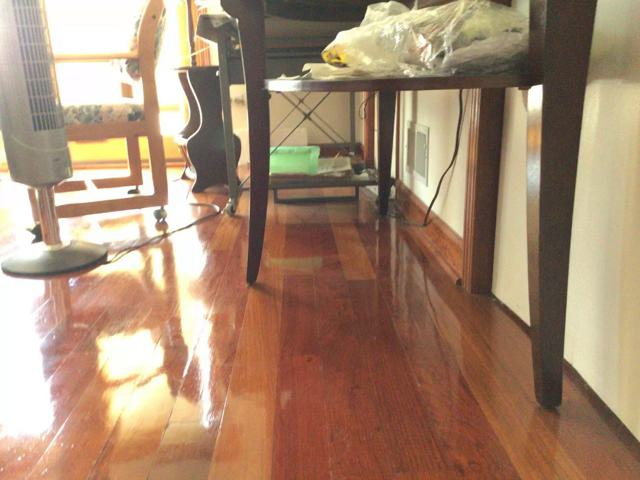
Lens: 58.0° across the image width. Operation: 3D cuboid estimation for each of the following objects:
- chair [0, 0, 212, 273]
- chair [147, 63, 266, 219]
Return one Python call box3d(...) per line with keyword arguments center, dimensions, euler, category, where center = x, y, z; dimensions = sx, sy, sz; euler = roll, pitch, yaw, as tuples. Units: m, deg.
box3d(center=(-0.890, -0.430, 2.140), dimensions=(0.700, 0.850, 0.580), euler=(-14, 20, -36), category="chair")
box3d(center=(-0.500, -0.490, 2.740), dimensions=(0.420, 0.640, 0.590), euler=(-3, 16, -2), category="chair")
